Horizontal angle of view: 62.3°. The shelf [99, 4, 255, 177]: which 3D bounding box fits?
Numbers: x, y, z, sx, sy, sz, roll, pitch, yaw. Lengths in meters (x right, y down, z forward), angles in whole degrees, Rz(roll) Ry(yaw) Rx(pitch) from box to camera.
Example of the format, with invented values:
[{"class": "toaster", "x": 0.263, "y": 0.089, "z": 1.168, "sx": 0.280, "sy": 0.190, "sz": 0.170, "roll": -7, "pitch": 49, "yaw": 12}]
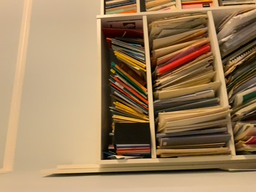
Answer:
[{"class": "shelf", "x": 0.860, "y": -0.030, "z": 1.240, "sx": 0.460, "sy": 1.990, "sz": 0.850, "roll": 84, "pitch": -176, "yaw": -74}]
